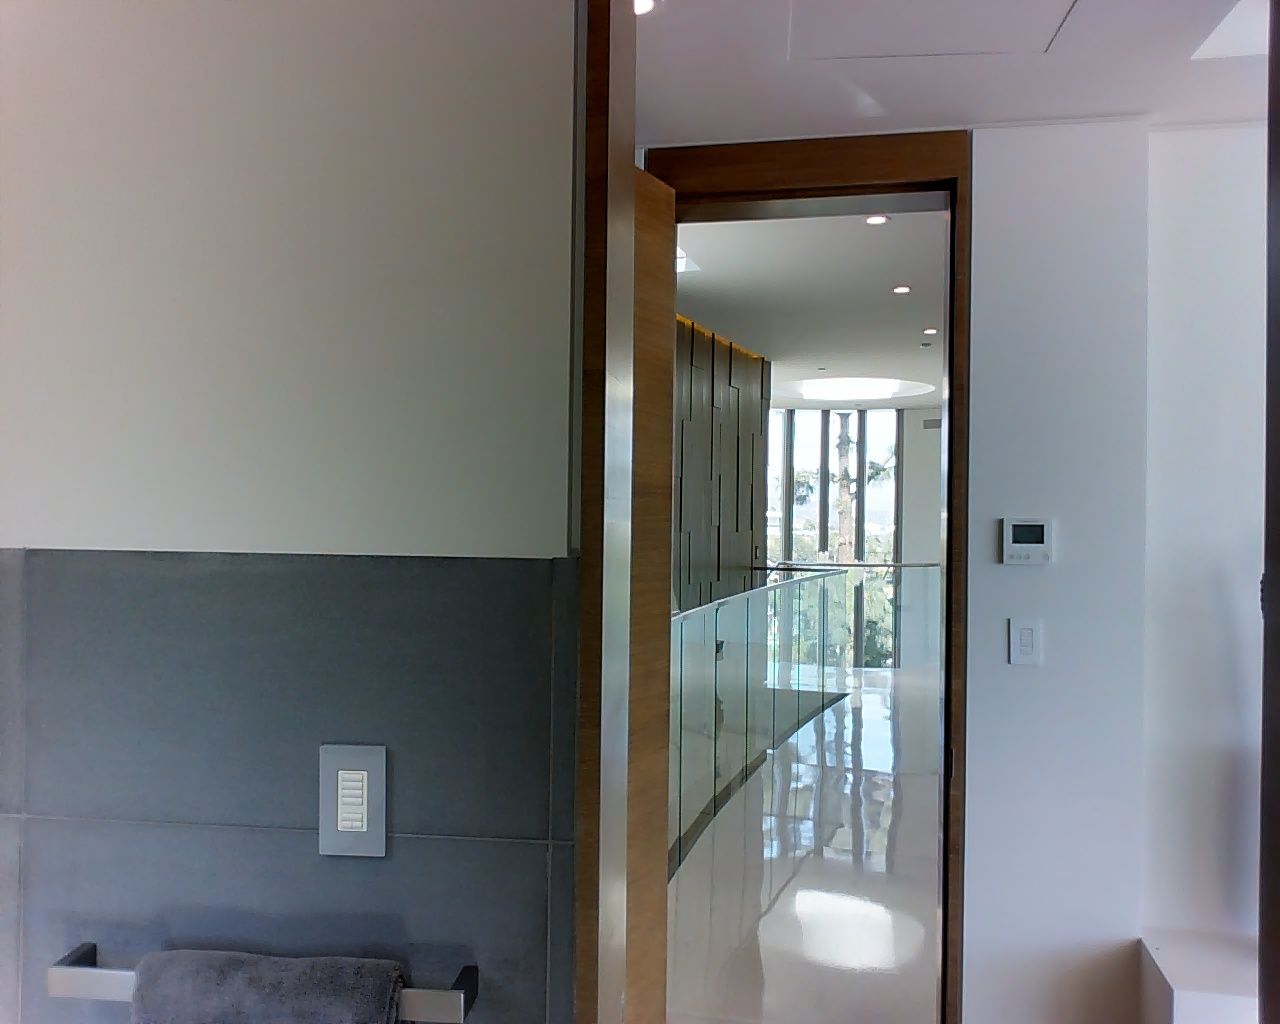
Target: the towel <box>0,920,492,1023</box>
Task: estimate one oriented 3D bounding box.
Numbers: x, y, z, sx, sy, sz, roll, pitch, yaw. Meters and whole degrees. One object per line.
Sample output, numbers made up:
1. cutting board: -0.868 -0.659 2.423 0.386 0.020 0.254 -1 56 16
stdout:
1. towel: -0.420 0.610 1.140 0.500 0.290 0.140 1 -1 1
